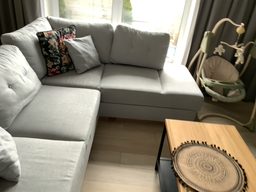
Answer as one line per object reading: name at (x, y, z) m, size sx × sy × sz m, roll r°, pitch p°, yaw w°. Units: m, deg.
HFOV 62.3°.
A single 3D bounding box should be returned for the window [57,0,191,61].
window at (-0.040, -1.800, 2.990) m, size 1.960 × 2.420 × 0.220 m, roll 7°, pitch 30°, yaw 1°
